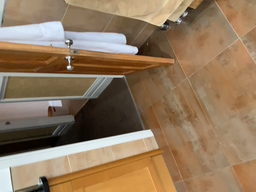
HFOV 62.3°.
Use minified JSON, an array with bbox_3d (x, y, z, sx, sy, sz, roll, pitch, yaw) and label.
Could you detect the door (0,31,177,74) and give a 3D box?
[{"bbox_3d":[-0.500,-0.250,1.400,0.670,1.720,0.080,-1,91,52],"label":"door"}]
